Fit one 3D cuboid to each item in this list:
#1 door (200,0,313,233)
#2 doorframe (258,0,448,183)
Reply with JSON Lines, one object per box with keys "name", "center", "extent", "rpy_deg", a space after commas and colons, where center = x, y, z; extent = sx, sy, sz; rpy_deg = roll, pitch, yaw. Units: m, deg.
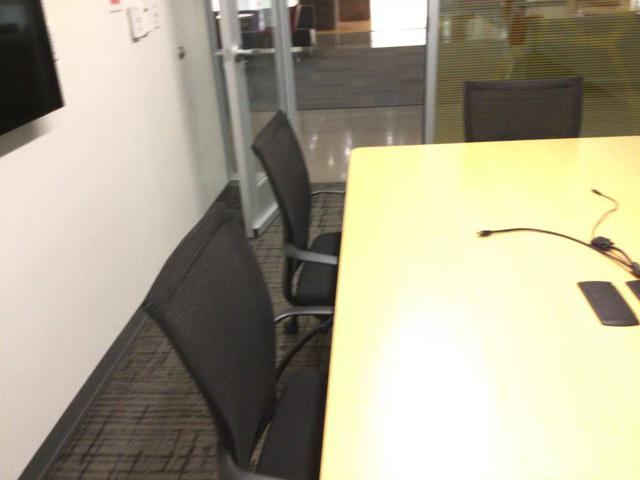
{"name": "door", "center": [-0.340, -1.090, 3.280], "extent": [0.200, 1.880, 0.940], "rpy_deg": [2, 26, 15]}
{"name": "doorframe", "center": [0.210, -1.290, 3.560], "extent": [1.100, 1.840, 0.260], "rpy_deg": [-2, 25, 6]}
